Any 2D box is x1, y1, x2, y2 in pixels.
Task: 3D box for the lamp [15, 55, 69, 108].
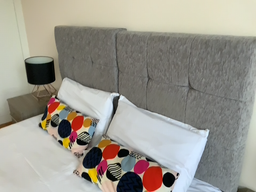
[{"bbox_3d":[-0.800,-0.150,2.000,0.340,0.390,0.260,-19,29,-39],"label":"lamp"}]
